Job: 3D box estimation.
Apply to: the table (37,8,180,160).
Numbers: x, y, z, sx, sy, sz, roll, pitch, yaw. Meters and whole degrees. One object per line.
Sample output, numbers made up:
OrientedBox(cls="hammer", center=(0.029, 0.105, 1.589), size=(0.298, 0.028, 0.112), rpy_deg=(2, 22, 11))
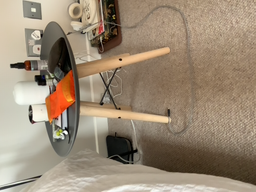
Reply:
OrientedBox(cls="table", center=(-0.100, -0.040, 0.890), size=(0.420, 0.420, 0.430), rpy_deg=(-3, 91, 56))
